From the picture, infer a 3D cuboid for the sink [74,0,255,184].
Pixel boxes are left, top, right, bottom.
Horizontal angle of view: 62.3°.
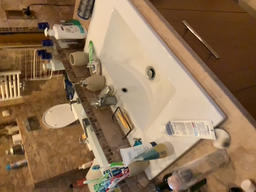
[{"bbox_3d":[0.030,-0.110,0.890,0.770,0.180,0.470,59,143,26],"label":"sink"}]
